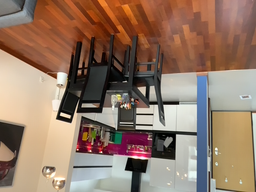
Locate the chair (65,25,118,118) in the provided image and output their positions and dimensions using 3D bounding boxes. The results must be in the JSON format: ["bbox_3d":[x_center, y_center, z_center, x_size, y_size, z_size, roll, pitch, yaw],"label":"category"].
[{"bbox_3d":[-0.430,-0.290,2.720,0.350,1.050,0.490,1,163,17],"label":"chair"}]
